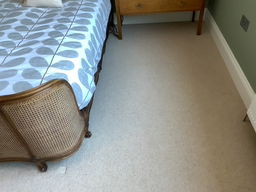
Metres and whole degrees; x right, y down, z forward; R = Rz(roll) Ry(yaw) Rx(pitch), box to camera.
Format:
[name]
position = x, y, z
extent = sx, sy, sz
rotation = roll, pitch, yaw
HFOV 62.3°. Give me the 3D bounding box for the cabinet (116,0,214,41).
[cabinet]
position = 0.400, -1.080, 2.450
extent = 1.020, 0.710, 0.450
rotation = 0, 44, 5
